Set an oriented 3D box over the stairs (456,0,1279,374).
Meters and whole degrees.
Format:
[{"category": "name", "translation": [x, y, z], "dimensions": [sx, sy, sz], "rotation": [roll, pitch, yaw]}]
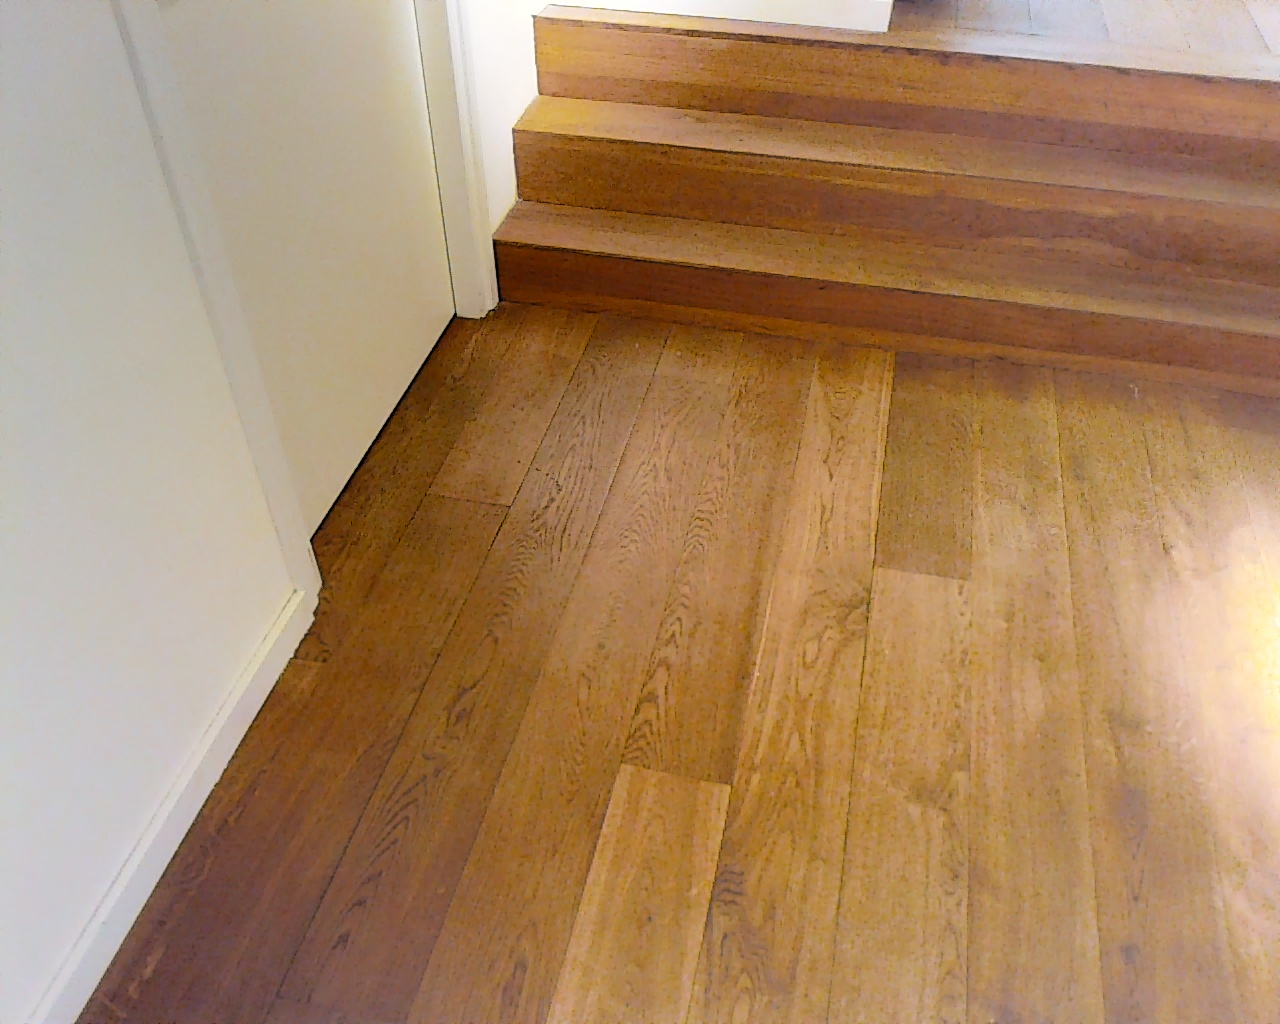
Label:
[{"category": "stairs", "translation": [0.870, -0.780, 2.420], "dimensions": [2.420, 0.520, 0.630], "rotation": [9, 43, 9]}]
